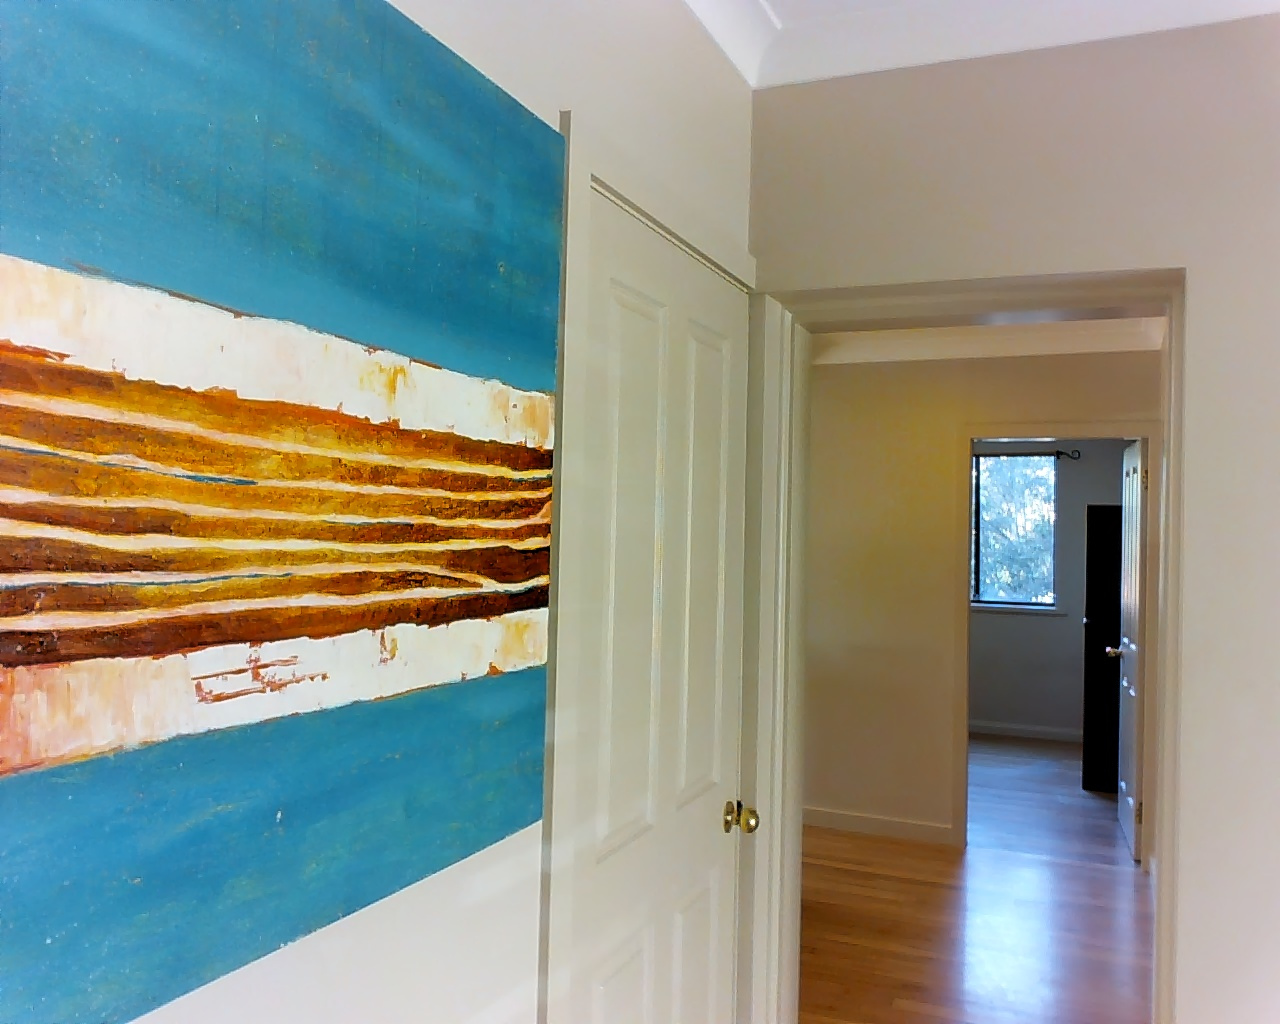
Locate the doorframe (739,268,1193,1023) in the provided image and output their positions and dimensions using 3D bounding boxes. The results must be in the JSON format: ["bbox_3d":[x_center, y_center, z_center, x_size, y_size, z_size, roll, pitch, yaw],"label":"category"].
[{"bbox_3d":[0.660,0.570,2.240,0.840,2.051,0.250,1,-1,23],"label":"doorframe"}]
